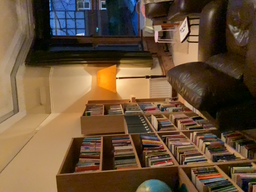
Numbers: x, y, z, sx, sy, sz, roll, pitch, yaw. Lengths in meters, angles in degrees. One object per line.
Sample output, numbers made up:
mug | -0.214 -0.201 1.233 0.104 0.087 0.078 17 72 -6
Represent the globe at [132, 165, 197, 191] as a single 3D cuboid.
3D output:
globe | 0.250 0.720 1.590 0.310 0.400 0.250 -122 31 -78
